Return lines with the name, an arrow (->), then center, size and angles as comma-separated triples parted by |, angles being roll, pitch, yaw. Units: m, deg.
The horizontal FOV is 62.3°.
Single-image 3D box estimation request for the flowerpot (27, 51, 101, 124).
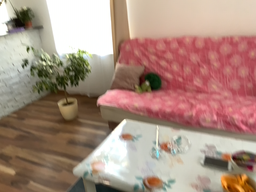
flowerpot -> -0.760, -0.150, 2.700 | 0.470, 0.710, 0.660 | 7, 26, 26
